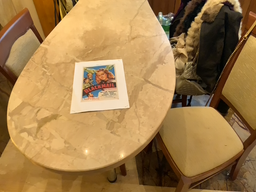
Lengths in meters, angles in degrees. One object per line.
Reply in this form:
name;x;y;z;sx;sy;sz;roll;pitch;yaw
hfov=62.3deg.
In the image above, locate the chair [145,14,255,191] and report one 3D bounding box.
chair;0.430;0.150;1.150;0.520;0.970;0.410;-14;47;-12
